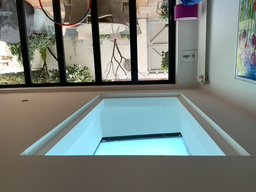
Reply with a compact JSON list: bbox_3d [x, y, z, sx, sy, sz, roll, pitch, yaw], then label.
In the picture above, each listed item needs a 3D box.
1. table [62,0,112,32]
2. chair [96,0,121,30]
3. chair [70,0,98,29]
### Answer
[{"bbox_3d":[-1.070,-2.280,5.790,1.000,0.870,1.040,0,-170,9],"label":"table"},{"bbox_3d":[-0.510,-2.250,5.600,0.500,0.900,0.500,1,-169,16],"label":"chair"},{"bbox_3d":[-1.080,-2.160,5.210,0.500,0.900,0.500,0,-170,9],"label":"chair"}]
